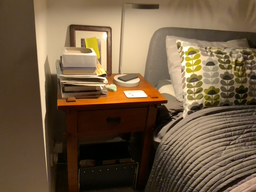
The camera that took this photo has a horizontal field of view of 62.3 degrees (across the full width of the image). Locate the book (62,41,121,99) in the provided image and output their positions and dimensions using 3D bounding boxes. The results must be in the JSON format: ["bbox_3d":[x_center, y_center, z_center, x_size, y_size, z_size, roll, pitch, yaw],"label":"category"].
[{"bbox_3d":[-0.220,-0.160,1.180,0.270,0.210,0.360,-2,25,-17],"label":"book"}]
